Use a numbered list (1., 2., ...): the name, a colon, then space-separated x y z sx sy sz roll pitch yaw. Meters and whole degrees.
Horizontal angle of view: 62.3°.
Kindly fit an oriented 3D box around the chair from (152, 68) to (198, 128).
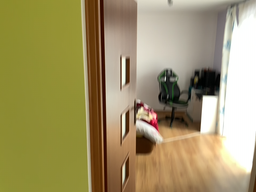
1. chair: 1.050 0.010 4.920 0.680 1.210 0.740 -4 14 -17

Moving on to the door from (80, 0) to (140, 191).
1. door: -0.070 0.260 1.590 0.130 2.080 0.910 3 13 12
